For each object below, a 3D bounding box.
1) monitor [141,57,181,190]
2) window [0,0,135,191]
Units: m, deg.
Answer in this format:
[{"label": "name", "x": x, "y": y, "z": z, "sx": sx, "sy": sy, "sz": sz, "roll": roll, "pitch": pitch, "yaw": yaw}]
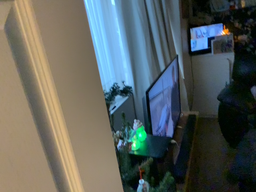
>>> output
[{"label": "monitor", "x": 0.310, "y": 0.100, "z": 1.670, "sx": 0.030, "sy": 0.610, "sz": 1.070, "roll": -2, "pitch": 20, "yaw": 22}, {"label": "window", "x": -0.430, "y": -0.410, "z": 1.560, "sx": 0.160, "sy": 1.380, "sz": 1.750, "roll": -1, "pitch": 20, "yaw": 24}]
